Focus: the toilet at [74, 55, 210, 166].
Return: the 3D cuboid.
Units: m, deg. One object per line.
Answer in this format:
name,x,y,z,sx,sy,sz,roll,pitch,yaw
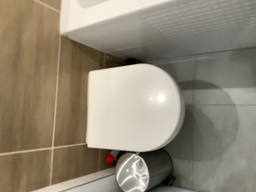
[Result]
toilet,0.090,0.070,1.060,0.500,0.460,0.380,-1,84,35
